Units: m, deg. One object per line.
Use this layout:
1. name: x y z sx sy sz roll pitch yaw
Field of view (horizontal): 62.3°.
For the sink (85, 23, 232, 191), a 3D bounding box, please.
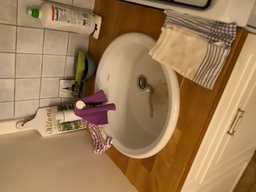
1. sink: 0.060 0.010 0.850 0.460 0.200 0.470 37 122 42
